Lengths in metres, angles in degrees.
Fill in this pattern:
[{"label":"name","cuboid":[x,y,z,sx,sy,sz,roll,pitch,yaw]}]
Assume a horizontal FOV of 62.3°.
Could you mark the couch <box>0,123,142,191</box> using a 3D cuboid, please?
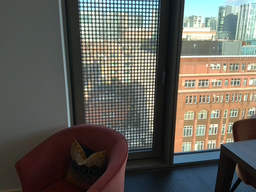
[{"label":"couch","cuboid":[-0.420,0.800,1.710,0.820,0.810,0.680,11,19,32]}]
